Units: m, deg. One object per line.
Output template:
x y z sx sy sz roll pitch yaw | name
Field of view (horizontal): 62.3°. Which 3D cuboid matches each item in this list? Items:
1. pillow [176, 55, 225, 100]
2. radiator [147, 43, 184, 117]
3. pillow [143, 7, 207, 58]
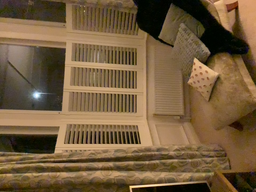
0.640 -0.150 1.920 0.380 0.330 0.120 -31 68 4 | pillow
0.530 -0.230 3.030 0.090 0.500 1.050 135 136 -75 | radiator
0.490 -0.630 2.210 0.500 0.420 0.140 -20 65 36 | pillow
